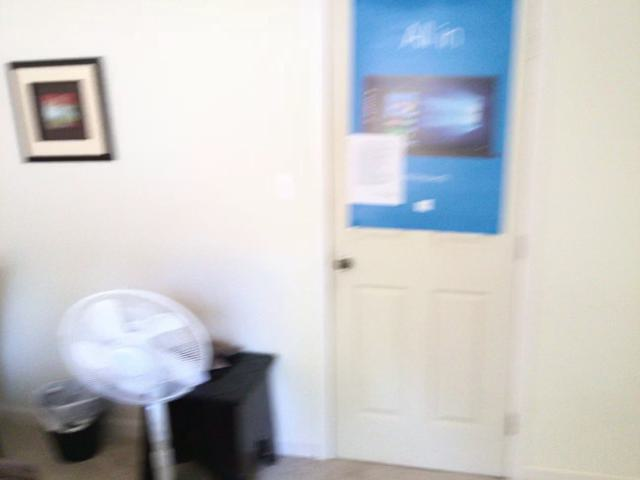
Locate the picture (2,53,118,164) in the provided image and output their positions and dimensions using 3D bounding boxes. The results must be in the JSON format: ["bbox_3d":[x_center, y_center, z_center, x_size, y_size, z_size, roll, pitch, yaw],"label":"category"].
[{"bbox_3d":[-1.100,-0.550,2.450,0.450,0.440,0.060,1,13,13],"label":"picture"}]

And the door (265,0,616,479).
[{"bbox_3d":[0.380,-0.070,2.240,1.170,2.150,0.120,5,13,11],"label":"door"}]

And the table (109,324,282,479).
[{"bbox_3d":[-0.490,0.720,2.400,0.550,0.560,0.450,5,13,11],"label":"table"}]
